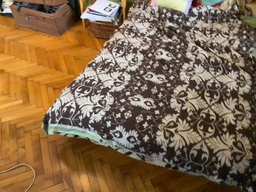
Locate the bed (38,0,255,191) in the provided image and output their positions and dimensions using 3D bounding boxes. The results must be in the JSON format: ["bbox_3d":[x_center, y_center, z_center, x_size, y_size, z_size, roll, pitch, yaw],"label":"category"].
[{"bbox_3d":[0.410,-0.290,1.960,1.250,0.460,2.040,17,49,14],"label":"bed"}]
